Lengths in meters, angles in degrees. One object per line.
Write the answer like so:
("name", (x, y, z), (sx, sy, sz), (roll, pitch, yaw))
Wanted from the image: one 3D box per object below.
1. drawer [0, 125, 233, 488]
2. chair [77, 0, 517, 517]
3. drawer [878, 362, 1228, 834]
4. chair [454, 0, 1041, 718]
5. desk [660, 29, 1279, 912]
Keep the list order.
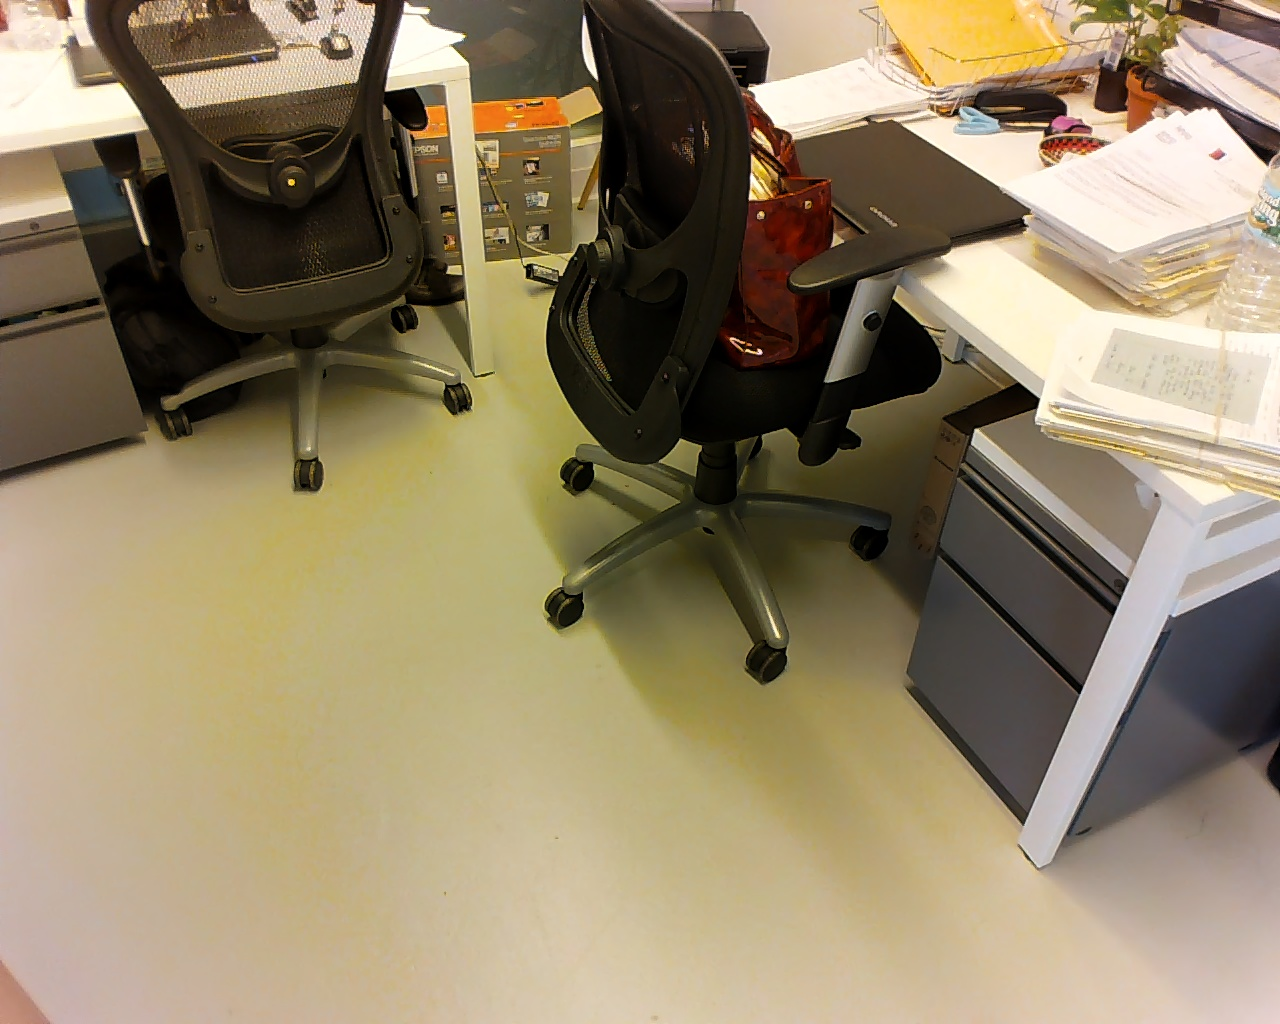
("drawer", (-1.200, -0.420, 2.200), (0.510, 0.540, 0.350), (-20, 46, -22))
("chair", (-0.680, -0.670, 2.160), (0.610, 1.070, 0.650), (-17, 45, -19))
("drawer", (0.570, 0.140, 1.610), (0.120, 0.600, 0.390), (-17, 45, -19))
("chair", (0.210, -0.380, 1.840), (0.660, 1.100, 0.790), (14, 43, 14))
("desk", (0.710, -0.210, 1.900), (0.820, 0.750, 1.330), (-17, 45, -19))
